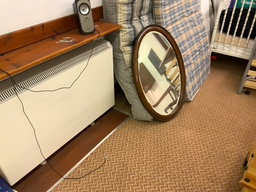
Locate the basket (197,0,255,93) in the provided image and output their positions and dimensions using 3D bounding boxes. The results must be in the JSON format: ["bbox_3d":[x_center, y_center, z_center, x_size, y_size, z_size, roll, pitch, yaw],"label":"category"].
[{"bbox_3d":[1.580,-0.630,2.480,1.120,0.940,0.700,24,42,29],"label":"basket"}]
